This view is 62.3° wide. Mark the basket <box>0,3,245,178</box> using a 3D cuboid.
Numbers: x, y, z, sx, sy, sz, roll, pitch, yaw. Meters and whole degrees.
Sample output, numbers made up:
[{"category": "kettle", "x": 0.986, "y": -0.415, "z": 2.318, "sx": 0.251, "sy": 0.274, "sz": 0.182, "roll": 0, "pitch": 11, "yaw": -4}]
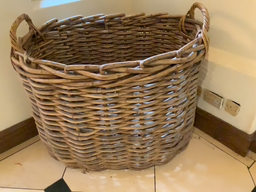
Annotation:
[{"category": "basket", "x": -0.090, "y": -0.060, "z": 1.420, "sx": 1.150, "sy": 0.840, "sz": 0.760, "roll": -2, "pitch": 36, "yaw": 0}]
